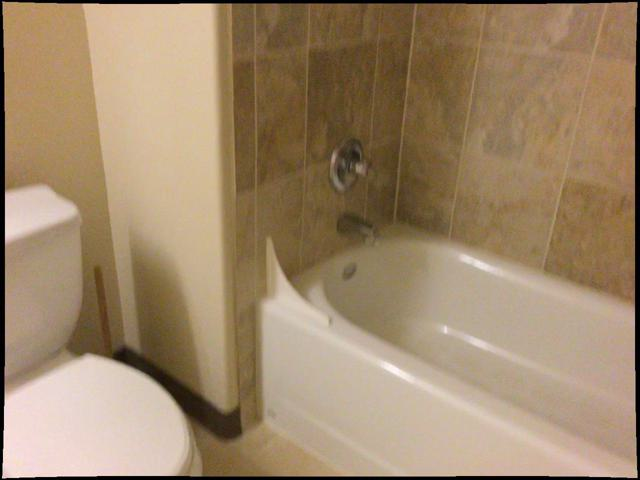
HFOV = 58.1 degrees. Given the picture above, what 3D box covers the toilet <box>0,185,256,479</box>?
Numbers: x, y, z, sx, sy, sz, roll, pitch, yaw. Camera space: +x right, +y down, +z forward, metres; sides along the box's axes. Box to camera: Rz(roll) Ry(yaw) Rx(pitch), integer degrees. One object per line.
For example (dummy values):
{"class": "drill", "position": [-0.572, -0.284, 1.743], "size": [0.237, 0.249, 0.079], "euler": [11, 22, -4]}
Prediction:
{"class": "toilet", "position": [-0.598, 0.411, 1.340], "size": [0.759, 0.802, 0.490], "euler": [21, 33, 32]}
